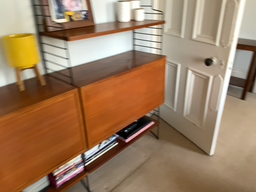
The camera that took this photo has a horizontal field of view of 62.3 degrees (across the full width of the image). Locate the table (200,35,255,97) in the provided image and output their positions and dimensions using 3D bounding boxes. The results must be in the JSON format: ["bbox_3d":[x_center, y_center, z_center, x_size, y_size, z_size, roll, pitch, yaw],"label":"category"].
[{"bbox_3d":[1.370,-0.420,2.820,0.550,0.630,0.440,22,34,38],"label":"table"}]
